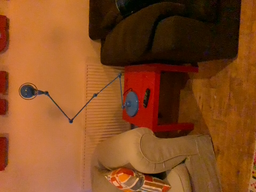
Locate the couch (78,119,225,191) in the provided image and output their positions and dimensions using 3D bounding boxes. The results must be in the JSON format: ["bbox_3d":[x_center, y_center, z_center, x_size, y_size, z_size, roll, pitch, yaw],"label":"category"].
[{"bbox_3d":[0.130,1.010,1.890,1.160,0.810,1.440,-26,67,60],"label":"couch"}]
